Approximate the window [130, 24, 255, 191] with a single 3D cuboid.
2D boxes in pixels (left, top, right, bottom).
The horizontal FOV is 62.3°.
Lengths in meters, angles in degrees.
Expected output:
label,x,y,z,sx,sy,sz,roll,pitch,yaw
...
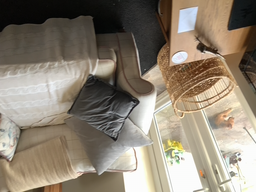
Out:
label,x,y,z,sx,sy,sz,roll,pitch,yaw
window,0.700,0.670,1.640,0.270,2.240,1.300,20,136,-36
